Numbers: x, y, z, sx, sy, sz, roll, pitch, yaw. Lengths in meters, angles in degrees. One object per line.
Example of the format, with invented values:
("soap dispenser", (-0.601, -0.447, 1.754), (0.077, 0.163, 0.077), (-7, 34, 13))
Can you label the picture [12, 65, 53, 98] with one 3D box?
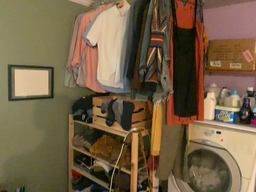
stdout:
("picture", (-0.850, -0.130, 1.910), (0.050, 0.270, 0.350), (8, 8, 39))
